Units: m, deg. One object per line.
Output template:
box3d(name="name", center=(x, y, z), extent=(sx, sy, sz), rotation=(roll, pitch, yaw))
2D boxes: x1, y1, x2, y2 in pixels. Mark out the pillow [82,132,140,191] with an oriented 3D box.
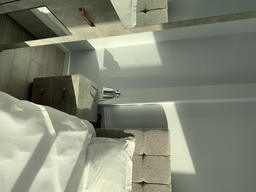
box3d(name="pillow", center=(-0.160, 0.730, 1.810), extent=(0.180, 0.430, 0.780), rotation=(122, -25, -75))
